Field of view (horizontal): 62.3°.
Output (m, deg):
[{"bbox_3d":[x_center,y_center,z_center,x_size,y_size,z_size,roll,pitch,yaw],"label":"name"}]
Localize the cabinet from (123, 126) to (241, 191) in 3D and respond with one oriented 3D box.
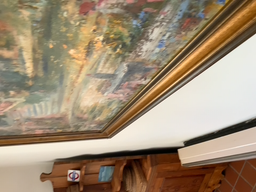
[{"bbox_3d":[0.470,0.690,2.020,0.370,0.860,0.690,-122,37,-56],"label":"cabinet"}]
